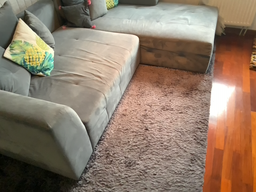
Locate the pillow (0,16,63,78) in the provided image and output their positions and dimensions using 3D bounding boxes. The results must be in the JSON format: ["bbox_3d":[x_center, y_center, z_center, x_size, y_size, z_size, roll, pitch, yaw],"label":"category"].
[{"bbox_3d":[-0.860,-0.460,1.890,0.190,0.430,0.530,-23,17,11],"label":"pillow"}]
